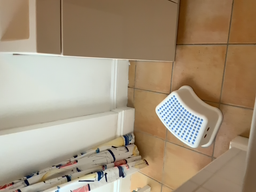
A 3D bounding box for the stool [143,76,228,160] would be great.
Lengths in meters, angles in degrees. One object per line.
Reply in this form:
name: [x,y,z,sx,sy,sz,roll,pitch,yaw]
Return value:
stool: [0.300,0.110,1.190,0.330,0.140,0.310,44,122,31]
